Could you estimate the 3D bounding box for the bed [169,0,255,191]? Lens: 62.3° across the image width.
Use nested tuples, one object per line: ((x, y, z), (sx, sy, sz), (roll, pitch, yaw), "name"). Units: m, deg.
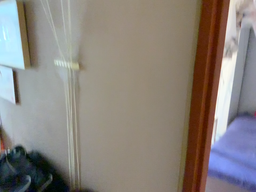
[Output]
((1.830, -0.190, 2.410), (1.660, 2.430, 2.140), (14, 20, 39), "bed")
